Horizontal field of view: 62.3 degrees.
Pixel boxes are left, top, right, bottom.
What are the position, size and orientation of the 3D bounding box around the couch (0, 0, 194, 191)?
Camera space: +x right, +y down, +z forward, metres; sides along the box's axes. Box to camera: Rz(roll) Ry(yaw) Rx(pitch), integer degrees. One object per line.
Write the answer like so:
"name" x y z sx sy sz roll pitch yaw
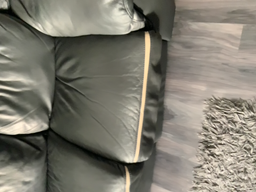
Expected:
"couch" -0.470 0.520 1.210 1.030 0.960 2.410 14 103 30
